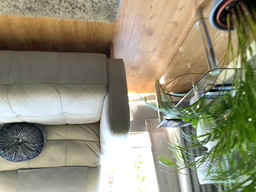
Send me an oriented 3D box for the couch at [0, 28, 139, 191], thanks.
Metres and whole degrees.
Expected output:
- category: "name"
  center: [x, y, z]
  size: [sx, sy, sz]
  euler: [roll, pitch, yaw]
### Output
- category: "couch"
  center: [-0.970, 0.250, 1.510]
  size: [1.830, 1.020, 0.990]
  euler: [0, 155, -11]
